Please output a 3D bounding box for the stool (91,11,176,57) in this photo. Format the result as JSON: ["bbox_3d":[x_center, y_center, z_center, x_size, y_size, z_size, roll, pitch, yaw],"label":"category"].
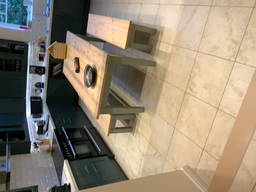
[{"bbox_3d":[-0.040,-0.980,3.170,1.700,0.450,0.370,39,123,54],"label":"stool"}]

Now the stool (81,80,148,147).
[{"bbox_3d":[-0.330,0.200,3.640,1.690,0.450,0.400,40,123,54],"label":"stool"}]

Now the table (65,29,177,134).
[{"bbox_3d":[-0.320,-0.380,3.310,2.120,0.780,0.860,41,124,53],"label":"table"}]

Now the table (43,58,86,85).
[{"bbox_3d":[-1.670,-0.630,5.530,0.590,0.920,0.500,38,122,54],"label":"table"}]
